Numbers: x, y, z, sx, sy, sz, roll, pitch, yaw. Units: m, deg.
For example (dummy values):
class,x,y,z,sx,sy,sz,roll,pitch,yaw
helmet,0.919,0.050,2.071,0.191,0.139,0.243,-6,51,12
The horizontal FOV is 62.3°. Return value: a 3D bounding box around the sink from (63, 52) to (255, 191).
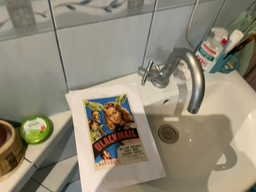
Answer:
class,x,y,z,sx,sy,sz,roll,pitch,yaw
sink,0.160,0.130,0.700,0.610,0.190,0.440,-16,57,-19
